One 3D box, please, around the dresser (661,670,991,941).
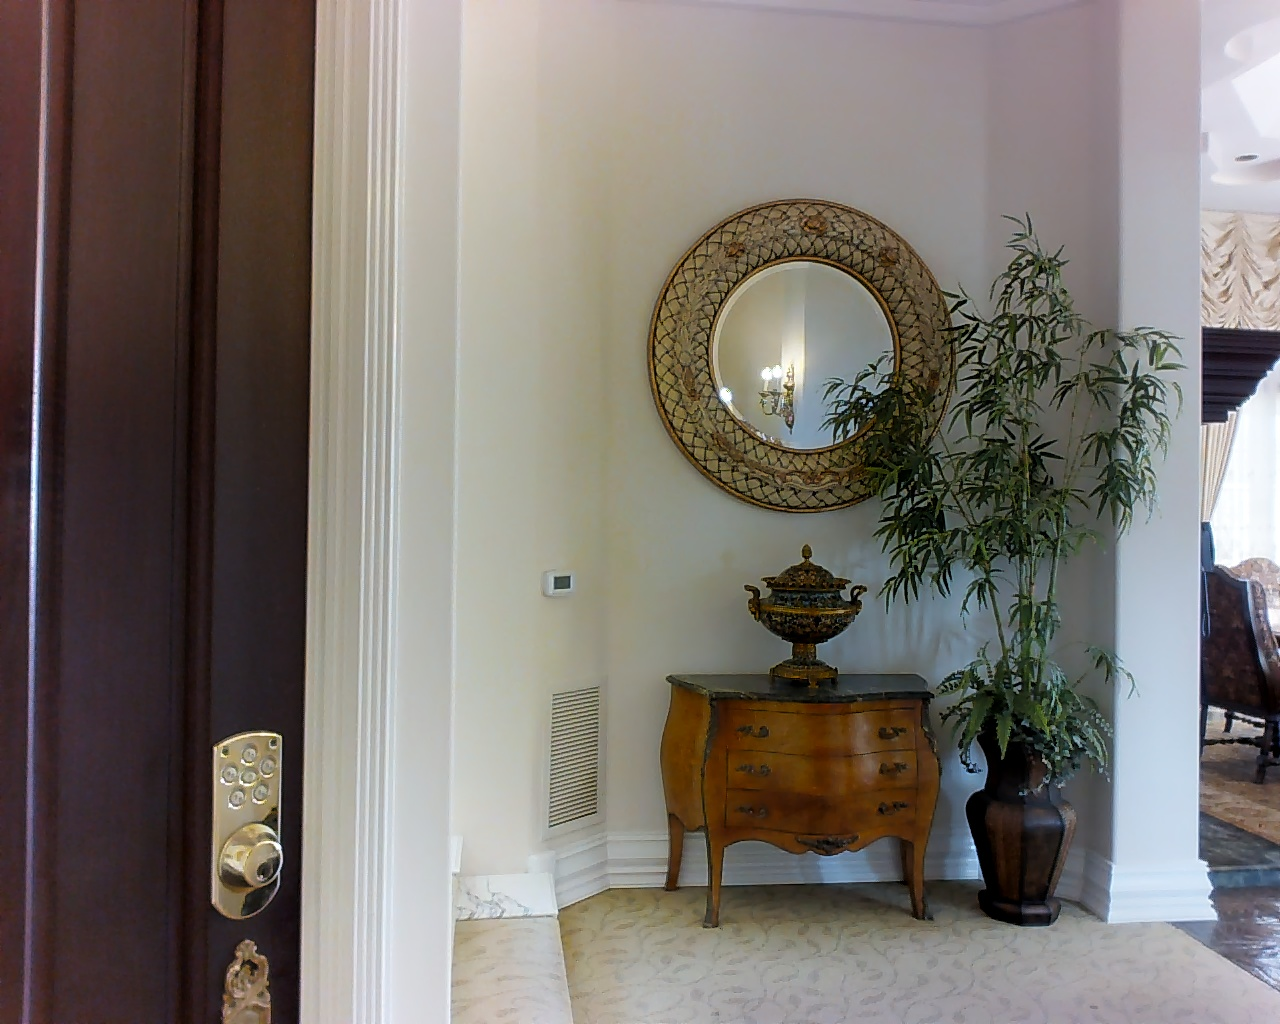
[{"bbox_3d":[0.650,1.030,3.920,1.060,0.810,0.560,1,0,-8],"label":"dresser"}]
